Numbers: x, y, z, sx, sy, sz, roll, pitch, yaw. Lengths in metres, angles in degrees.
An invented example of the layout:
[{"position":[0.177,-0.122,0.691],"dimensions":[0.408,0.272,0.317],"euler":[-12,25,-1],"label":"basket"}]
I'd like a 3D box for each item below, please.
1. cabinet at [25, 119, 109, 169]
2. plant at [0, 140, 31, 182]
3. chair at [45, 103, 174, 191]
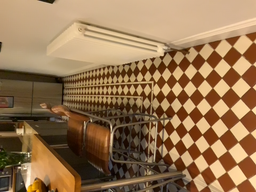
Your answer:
[{"position":[-1.000,0.630,3.230],"dimensions":[1.380,0.850,0.430],"euler":[1,88,57],"label":"cabinet"},{"position":[-1.560,0.840,2.790],"dimensions":[0.380,0.440,0.410],"euler":[2,89,57],"label":"plant"},{"position":[-0.140,0.370,1.820],"dimensions":[0.480,0.950,0.550],"euler":[4,91,56],"label":"chair"}]
